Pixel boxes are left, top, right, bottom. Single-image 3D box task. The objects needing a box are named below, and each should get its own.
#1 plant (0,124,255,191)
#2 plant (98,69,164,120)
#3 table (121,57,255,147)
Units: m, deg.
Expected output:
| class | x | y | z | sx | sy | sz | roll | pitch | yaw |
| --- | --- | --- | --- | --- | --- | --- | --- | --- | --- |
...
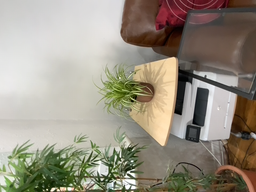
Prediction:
| class | x | y | z | sx | sy | sz | roll | pitch | yaw |
| --- | --- | --- | --- | --- | --- | --- | --- | --- | --- |
| plant | 0.120 | 0.550 | 1.070 | 0.500 | 1.640 | 0.640 | -56 | 39 | 47 |
| plant | 0.010 | -0.010 | 1.320 | 0.220 | 0.310 | 0.260 | 29 | 113 | 62 |
| table | 0.430 | 0.010 | 1.570 | 0.610 | 0.730 | 0.470 | 28 | 112 | 62 |
